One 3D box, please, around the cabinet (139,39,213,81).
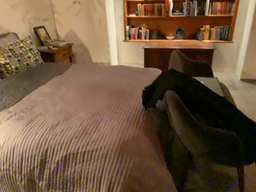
[{"bbox_3d":[0.780,-0.630,3.570,1.100,0.550,0.490,5,27,14],"label":"cabinet"}]
